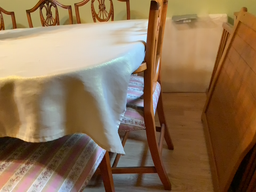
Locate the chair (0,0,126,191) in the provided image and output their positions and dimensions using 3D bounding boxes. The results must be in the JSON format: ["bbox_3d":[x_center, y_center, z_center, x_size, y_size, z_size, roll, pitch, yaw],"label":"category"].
[{"bbox_3d":[-0.370,0.200,0.660,0.530,0.970,0.550,1,27,15],"label":"chair"}]
